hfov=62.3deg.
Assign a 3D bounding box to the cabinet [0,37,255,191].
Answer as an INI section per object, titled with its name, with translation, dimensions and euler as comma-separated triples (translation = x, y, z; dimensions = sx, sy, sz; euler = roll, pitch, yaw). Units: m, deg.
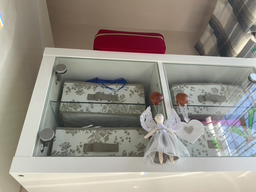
[cabinet]
translation = 0.090, 0.110, 0.770
dimensions = 0.800, 0.440, 0.380
euler = 2, -38, -7
